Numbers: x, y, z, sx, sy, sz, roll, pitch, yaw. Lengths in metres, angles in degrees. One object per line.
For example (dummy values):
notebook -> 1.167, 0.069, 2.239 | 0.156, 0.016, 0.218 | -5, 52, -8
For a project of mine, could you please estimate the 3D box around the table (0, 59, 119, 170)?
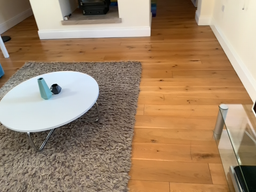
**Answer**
table -> -0.740, 0.070, 2.080 | 0.900, 0.310, 0.920 | -32, 45, -32

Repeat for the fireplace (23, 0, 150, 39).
fireplace -> -0.690, -2.030, 3.850 | 2.170, 1.610, 1.000 | 1, 37, 7
